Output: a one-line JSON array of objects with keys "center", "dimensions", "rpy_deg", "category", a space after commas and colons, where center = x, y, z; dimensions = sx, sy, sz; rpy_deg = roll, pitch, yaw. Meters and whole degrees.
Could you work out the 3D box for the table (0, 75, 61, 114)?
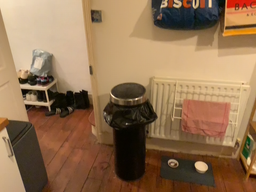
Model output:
[{"center": [-1.430, -0.030, 3.070], "dimensions": [0.750, 0.400, 0.340], "rpy_deg": [4, 27, 8], "category": "table"}]
